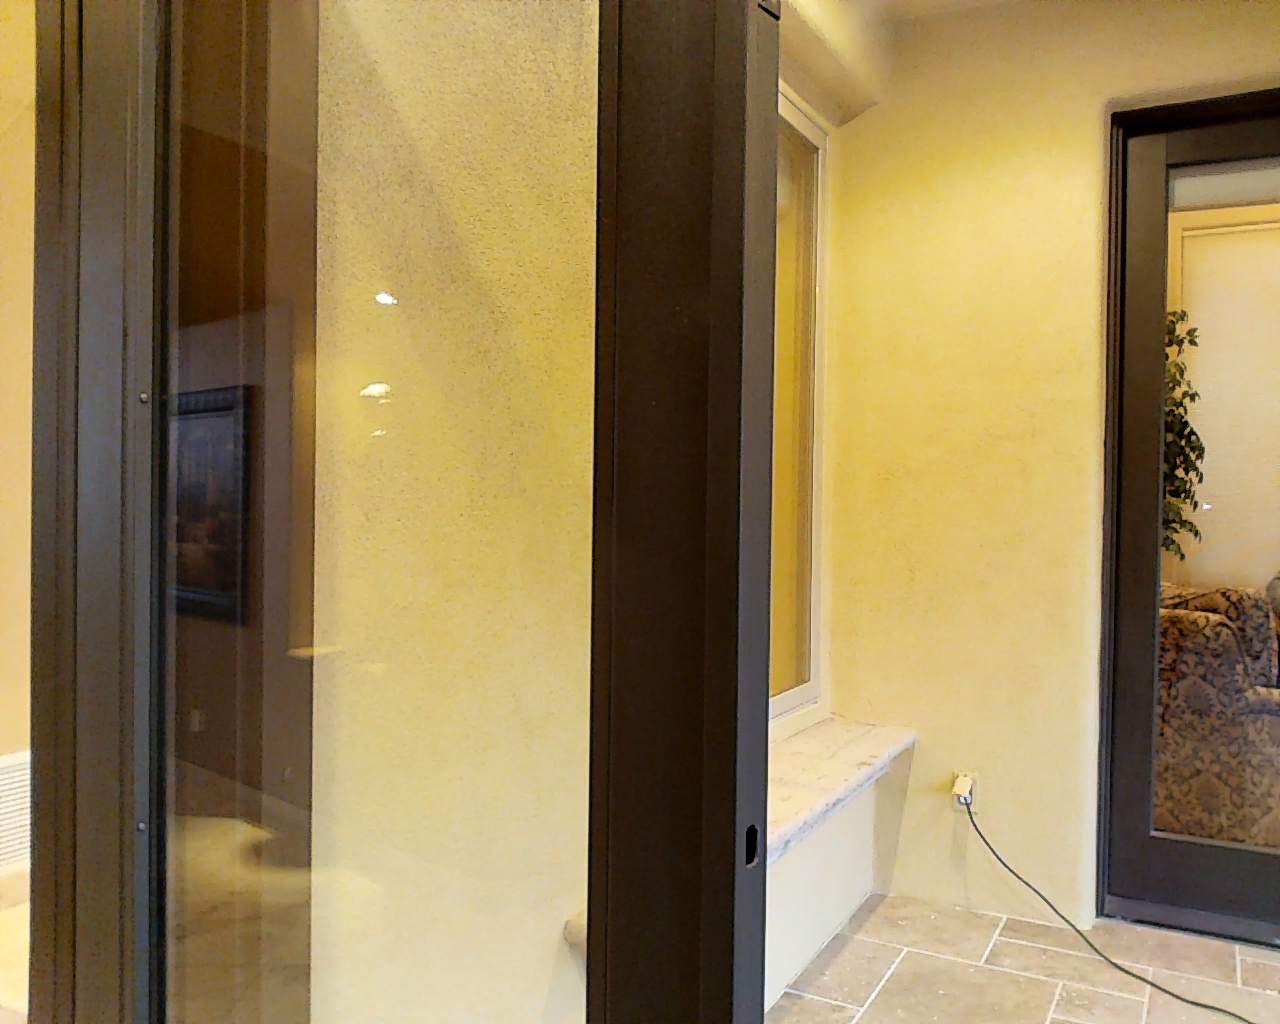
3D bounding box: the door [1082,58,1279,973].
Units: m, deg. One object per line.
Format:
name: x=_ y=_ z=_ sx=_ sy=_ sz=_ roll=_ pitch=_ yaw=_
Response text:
door: x=2.080 y=0.020 z=2.890 sx=1.530 sy=2.410 sz=0.510 roll=2 pitch=2 yaw=28
